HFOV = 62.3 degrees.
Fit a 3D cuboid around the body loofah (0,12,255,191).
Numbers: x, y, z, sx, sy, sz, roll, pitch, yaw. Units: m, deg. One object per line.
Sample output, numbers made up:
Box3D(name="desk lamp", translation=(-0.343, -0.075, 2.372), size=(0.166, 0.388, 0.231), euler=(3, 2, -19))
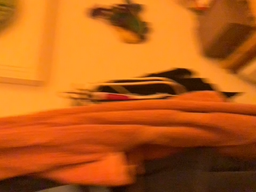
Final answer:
Box3D(name="body loofah", translation=(0.060, 0.090, 0.620), size=(0.250, 1.160, 0.430), euler=(127, 145, -59))
